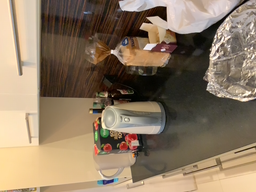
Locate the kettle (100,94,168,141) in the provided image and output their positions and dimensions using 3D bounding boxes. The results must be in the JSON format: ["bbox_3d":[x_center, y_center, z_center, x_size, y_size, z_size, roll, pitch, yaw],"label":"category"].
[{"bbox_3d":[0.020,0.110,1.050,0.180,0.270,0.170,129,138,-57],"label":"kettle"}]
